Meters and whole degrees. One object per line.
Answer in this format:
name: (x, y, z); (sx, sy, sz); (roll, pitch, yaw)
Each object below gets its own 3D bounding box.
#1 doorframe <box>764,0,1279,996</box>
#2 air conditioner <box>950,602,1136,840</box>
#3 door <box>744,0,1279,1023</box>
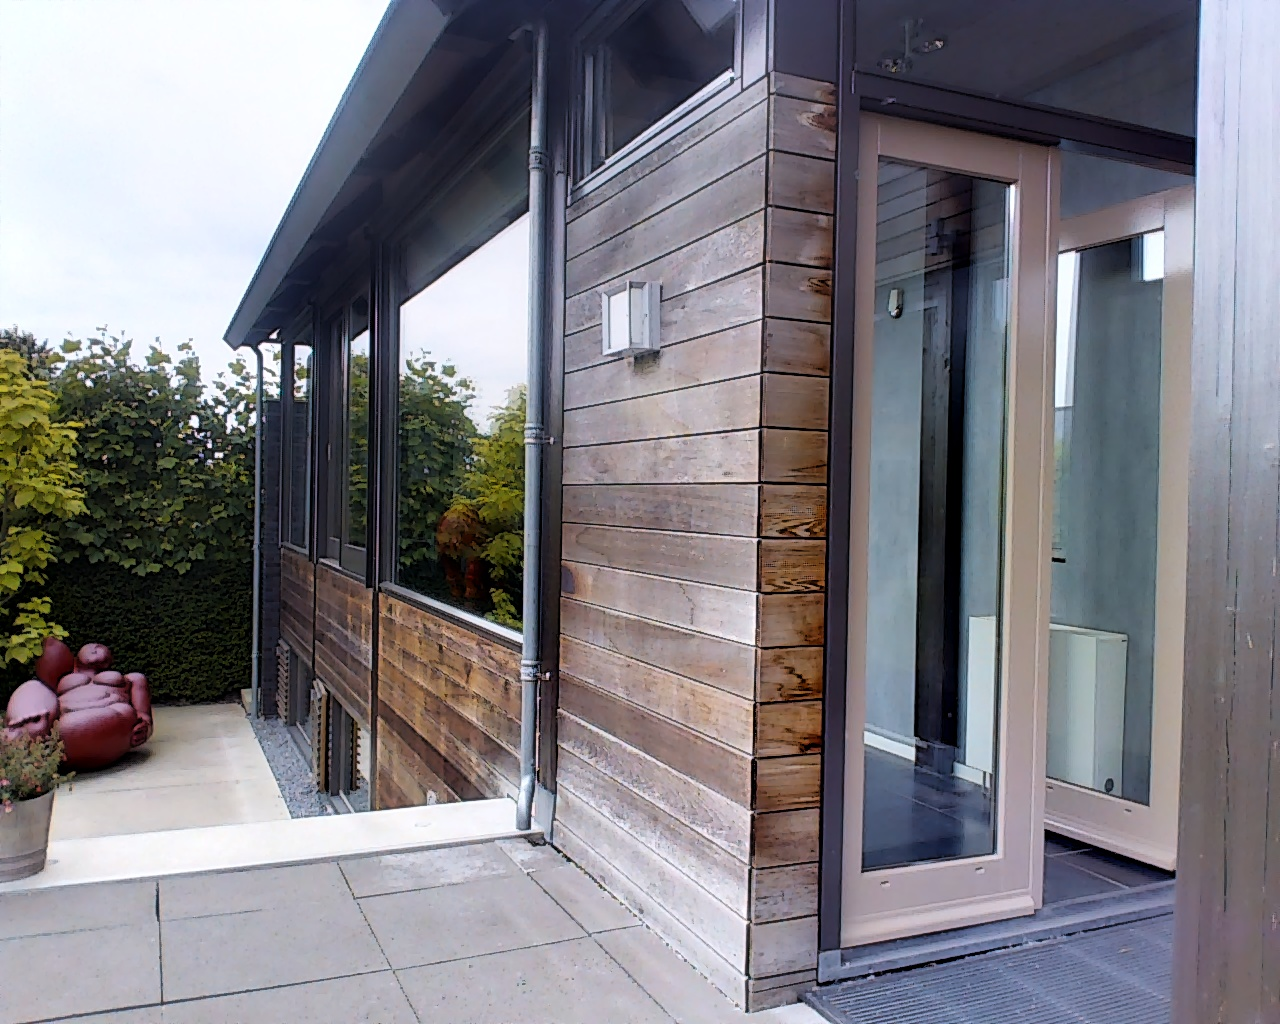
doorframe: (1.240, -0.320, 3.270); (1.840, 3.211, 0.160); (0, 1, -24)
air conditioner: (1.640, 0.820, 4.450); (0.210, 0.820, 0.790); (0, 1, -24)
door: (1.310, -0.010, 3.490); (0.970, 2.530, 1.840); (2, 1, 43)
